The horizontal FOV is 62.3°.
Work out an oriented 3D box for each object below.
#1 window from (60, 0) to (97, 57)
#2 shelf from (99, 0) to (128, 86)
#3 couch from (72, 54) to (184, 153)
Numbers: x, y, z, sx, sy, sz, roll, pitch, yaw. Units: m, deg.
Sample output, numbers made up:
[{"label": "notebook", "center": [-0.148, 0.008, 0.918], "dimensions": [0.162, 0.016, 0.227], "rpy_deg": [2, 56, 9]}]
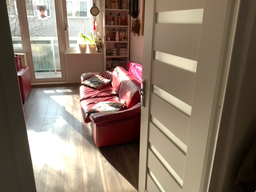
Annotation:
[{"label": "window", "center": [-1.190, -1.810, 5.130], "dimensions": [0.800, 1.690, 0.170], "rpy_deg": [-2, 19, -8]}, {"label": "shelf", "center": [-0.370, -1.390, 5.240], "dimensions": [0.620, 2.250, 0.420], "rpy_deg": [-3, 19, -13]}, {"label": "couch", "center": [-0.260, -0.130, 3.750], "dimensions": [1.320, 0.840, 2.440], "rpy_deg": [-4, 20, -15]}]
